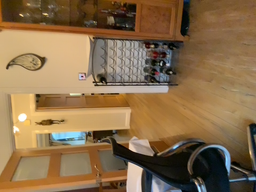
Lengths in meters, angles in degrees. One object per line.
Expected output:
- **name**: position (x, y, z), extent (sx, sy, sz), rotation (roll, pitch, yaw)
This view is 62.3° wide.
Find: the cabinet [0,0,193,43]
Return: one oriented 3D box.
- **cabinet**: position (-0.320, -1.010, 2.170), extent (0.380, 1.980, 0.790), rotation (-140, 51, -70)
